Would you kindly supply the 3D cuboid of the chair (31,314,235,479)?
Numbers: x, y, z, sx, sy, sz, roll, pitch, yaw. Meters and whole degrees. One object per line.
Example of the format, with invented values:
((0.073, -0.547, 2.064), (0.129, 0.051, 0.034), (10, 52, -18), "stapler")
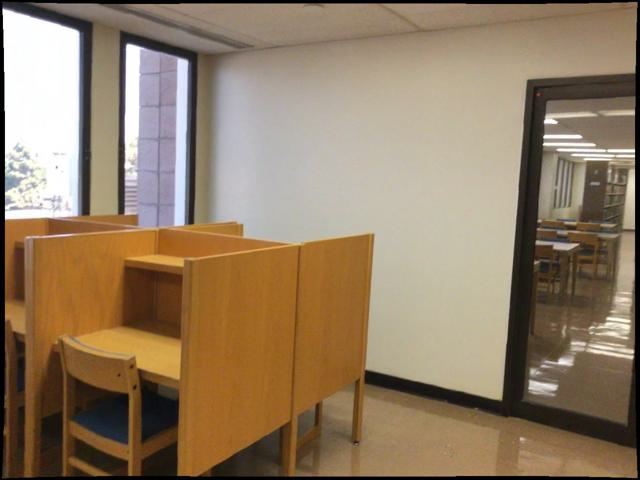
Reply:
((-0.878, 0.852, 2.730), (0.729, 0.802, 0.599), (5, 7, 37), "chair")
